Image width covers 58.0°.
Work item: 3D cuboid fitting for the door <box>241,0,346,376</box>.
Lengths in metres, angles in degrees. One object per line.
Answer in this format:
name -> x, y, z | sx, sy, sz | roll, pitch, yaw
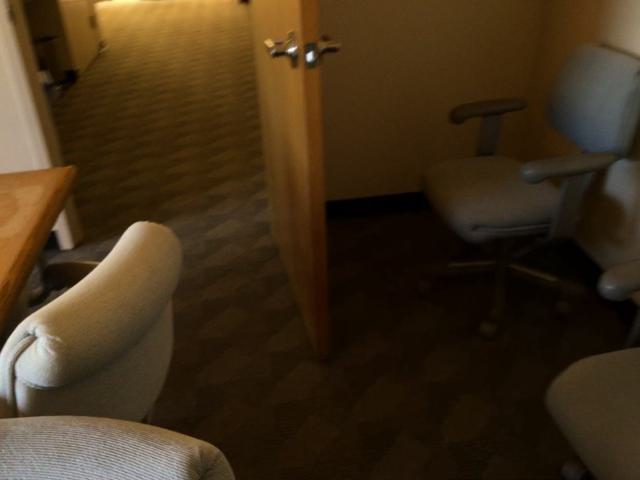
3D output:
door -> -0.100, -0.290, 1.900 | 0.190, 1.120, 0.900 | -7, 34, -6
